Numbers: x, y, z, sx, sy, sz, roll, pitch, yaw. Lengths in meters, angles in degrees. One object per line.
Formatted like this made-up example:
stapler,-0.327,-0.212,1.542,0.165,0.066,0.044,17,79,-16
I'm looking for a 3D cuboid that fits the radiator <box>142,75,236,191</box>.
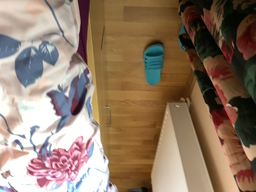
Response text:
radiator,0.270,0.470,1.340,0.190,0.750,0.920,3,133,-4
